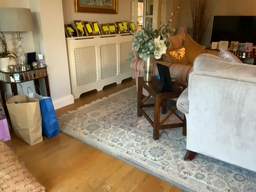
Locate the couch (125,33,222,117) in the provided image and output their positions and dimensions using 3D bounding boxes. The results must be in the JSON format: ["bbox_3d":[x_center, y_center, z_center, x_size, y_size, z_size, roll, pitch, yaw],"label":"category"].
[{"bbox_3d":[0.770,-0.460,3.280,0.880,0.850,1.610,13,24,30],"label":"couch"}]

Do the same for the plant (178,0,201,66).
[{"bbox_3d":[1.570,-1.670,5.400,0.350,1.720,0.260,13,24,32],"label":"plant"}]
